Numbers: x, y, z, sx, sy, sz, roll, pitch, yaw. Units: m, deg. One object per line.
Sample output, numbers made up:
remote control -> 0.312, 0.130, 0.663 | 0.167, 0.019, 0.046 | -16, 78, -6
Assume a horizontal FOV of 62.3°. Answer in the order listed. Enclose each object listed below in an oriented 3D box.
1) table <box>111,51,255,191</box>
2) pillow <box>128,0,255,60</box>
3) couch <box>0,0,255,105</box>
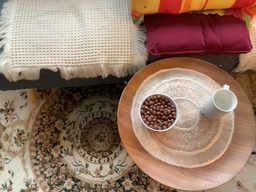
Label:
table -> 0.210, 0.140, 0.950 | 0.510, 0.400, 0.490 | -5, 70, -3
pillow -> 0.260, -0.440, 0.880 | 0.510, 0.190, 0.520 | -4, 69, -2
couch -> 0.260, -0.510, 1.020 | 1.830, 0.730, 0.820 | -3, 69, -2
